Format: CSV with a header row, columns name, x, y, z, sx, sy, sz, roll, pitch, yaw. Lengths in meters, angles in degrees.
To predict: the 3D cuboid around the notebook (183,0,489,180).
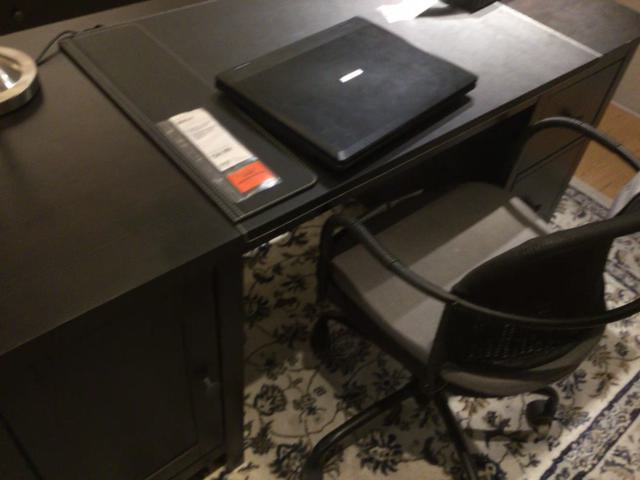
name,x,y,z,sx,sy,sz,roll,pitch,yaw
notebook,0.040,-0.290,0.990,0.300,0.050,0.440,35,53,26
